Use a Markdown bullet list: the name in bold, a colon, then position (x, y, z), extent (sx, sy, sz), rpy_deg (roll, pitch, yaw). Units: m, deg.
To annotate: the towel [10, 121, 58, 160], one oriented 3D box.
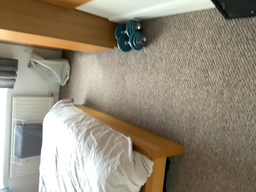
- **towel**: position (-1.300, 0.600, 2.960), extent (0.140, 0.570, 0.470), rpy_deg (13, 98, 52)
